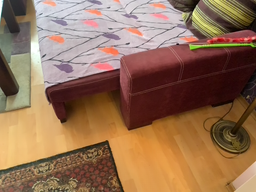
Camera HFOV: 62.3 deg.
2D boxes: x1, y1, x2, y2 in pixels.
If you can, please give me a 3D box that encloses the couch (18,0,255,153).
[{"bbox_3d":[-0.140,-0.850,2.130,1.550,0.620,2.420,-12,50,-13],"label":"couch"}]
